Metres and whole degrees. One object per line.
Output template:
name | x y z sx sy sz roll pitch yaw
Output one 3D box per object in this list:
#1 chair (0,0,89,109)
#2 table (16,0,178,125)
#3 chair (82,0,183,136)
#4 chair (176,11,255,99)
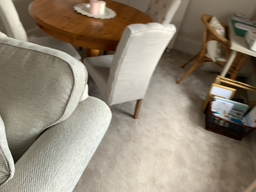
chair | -0.740 -0.430 1.800 0.610 0.910 0.420 -14 46 -31
table | -0.370 -0.480 2.140 1.110 0.720 1.090 -14 46 -31
chair | -0.050 -0.240 1.770 0.410 0.930 0.590 -13 46 -31
chair | 0.990 -0.500 2.580 0.560 0.750 0.590 15 38 1
